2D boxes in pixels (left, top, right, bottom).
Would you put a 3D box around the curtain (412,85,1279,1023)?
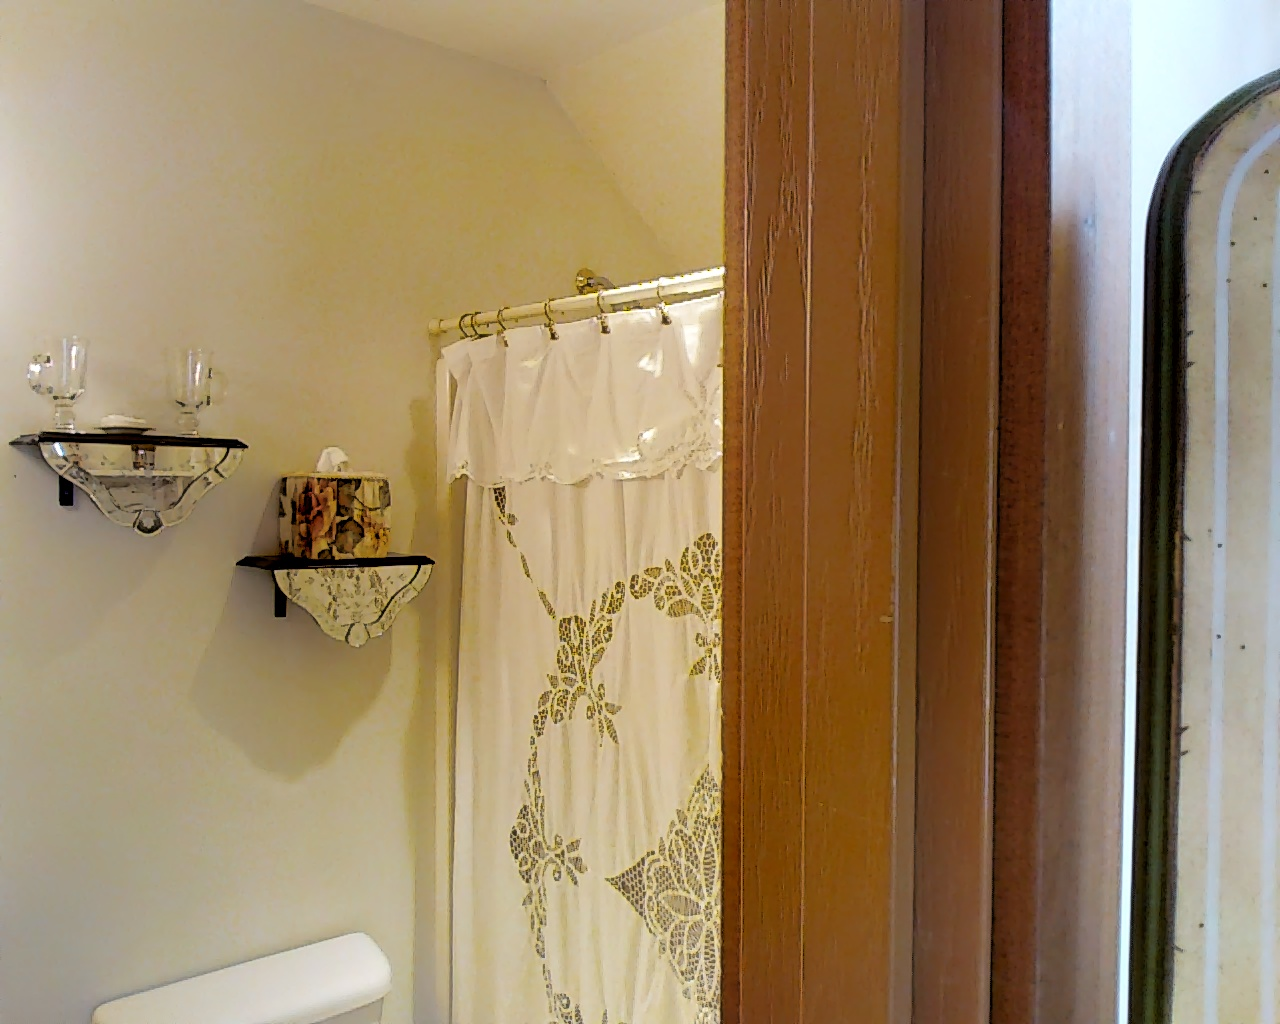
[{"bbox_3d":[0.140,0.540,1.650,0.180,1.930,1.500,-1,2,-44],"label":"curtain"}]
